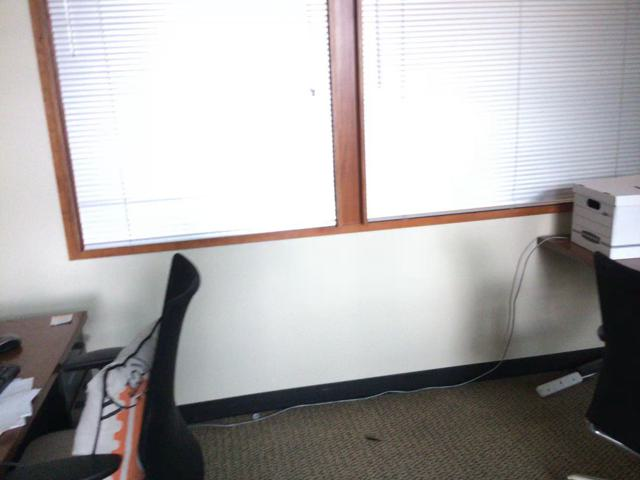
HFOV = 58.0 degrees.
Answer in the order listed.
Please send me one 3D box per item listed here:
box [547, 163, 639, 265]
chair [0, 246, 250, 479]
[{"bbox_3d":[1.290,-0.130,2.370,0.440,0.300,0.520,-10,10,-10],"label":"box"},{"bbox_3d":[-0.520,0.610,1.490,0.650,1.010,0.650,-10,10,-11],"label":"chair"}]
